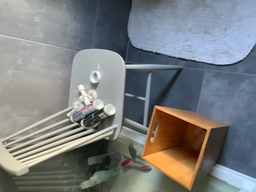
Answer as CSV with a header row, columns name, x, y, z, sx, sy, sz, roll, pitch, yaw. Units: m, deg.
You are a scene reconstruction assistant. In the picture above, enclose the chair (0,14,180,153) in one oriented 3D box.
name,x,y,z,sx,sy,sz,roll,pitch,yaw
chair,-0.180,-0.040,1.010,0.420,0.850,0.370,12,96,43
